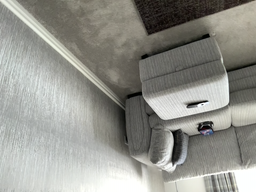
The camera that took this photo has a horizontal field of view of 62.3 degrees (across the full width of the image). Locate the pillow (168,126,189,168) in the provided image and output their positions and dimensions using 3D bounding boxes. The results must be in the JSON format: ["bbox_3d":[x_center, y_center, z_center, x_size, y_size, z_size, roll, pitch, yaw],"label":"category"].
[{"bbox_3d":[0.530,0.560,2.270,0.190,0.320,0.480,1,153,12],"label":"pillow"}]

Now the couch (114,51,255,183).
[{"bbox_3d":[1.060,0.290,2.230,2.140,0.860,1.060,-16,150,20],"label":"couch"}]
